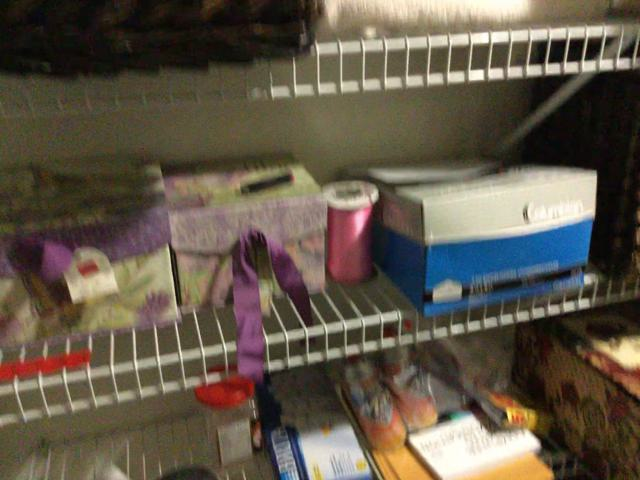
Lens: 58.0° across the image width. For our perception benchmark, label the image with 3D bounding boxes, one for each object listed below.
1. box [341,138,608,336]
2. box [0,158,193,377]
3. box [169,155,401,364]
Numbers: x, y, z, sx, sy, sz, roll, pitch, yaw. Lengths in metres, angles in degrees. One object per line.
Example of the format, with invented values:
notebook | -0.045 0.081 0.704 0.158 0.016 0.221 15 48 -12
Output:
box | 0.200 -0.030 0.870 0.240 0.170 0.330 -8 22 -15
box | -0.330 0.020 0.760 0.280 0.180 0.250 -8 22 -15
box | -0.060 0.010 0.850 0.280 0.200 0.230 -8 22 -15
